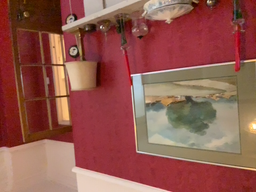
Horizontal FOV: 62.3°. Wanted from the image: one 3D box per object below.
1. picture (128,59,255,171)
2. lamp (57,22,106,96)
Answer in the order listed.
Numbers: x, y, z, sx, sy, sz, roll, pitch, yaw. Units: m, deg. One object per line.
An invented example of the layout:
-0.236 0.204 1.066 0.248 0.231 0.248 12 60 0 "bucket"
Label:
0.310 0.100 1.160 0.680 0.500 0.060 -3 -176 37 "picture"
-0.320 -0.240 1.470 0.220 0.450 0.200 -3 -176 42 "lamp"
